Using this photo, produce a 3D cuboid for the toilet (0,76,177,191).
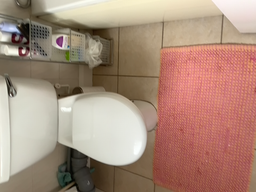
[{"bbox_3d":[-0.230,0.160,1.170,0.720,0.770,0.510,6,98,34],"label":"toilet"}]
